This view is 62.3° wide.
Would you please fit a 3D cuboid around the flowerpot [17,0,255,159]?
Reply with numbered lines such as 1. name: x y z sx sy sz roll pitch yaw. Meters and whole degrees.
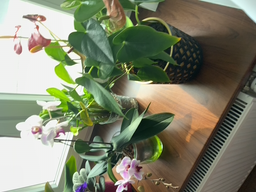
1. flowerpot: -0.020 -0.160 0.670 0.500 0.440 0.390 44 119 40
